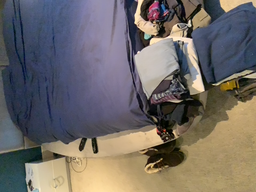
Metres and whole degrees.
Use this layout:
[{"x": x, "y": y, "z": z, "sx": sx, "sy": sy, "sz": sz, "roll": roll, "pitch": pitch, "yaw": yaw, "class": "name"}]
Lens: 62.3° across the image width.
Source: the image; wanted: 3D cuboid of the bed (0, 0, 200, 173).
[{"x": -0.660, "y": -0.580, "z": 2.150, "sx": 2.240, "sy": 0.480, "sz": 2.400, "roll": -16, "pitch": 80, "yaw": 45, "class": "bed"}]
